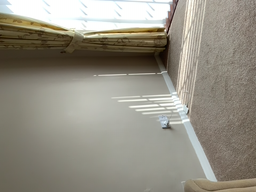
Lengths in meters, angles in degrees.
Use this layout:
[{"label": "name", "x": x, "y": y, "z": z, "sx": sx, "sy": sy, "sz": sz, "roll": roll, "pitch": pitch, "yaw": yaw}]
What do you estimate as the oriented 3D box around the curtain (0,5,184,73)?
[{"label": "curtain", "x": -0.570, "y": -0.590, "z": 2.300, "sx": 0.650, "sy": 2.290, "sz": 0.210, "roll": 102, "pitch": 159, "yaw": -47}]
